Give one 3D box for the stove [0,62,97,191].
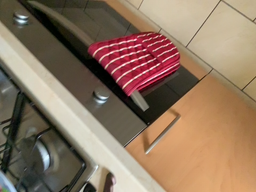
[{"bbox_3d":[-0.390,0.150,0.640,0.550,0.030,0.530,43,126,13],"label":"stove"}]
